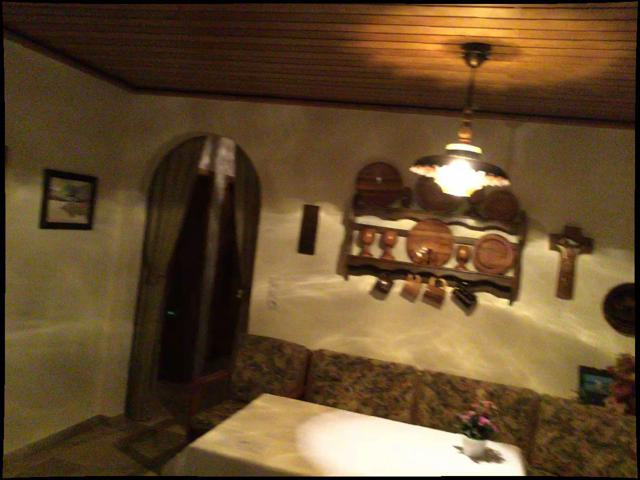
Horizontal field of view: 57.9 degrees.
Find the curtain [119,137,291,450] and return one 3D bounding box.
[{"bbox_3d":[-0.839,0.350,4.200,0.939,2.062,0.320,8,3,16],"label":"curtain"}]
